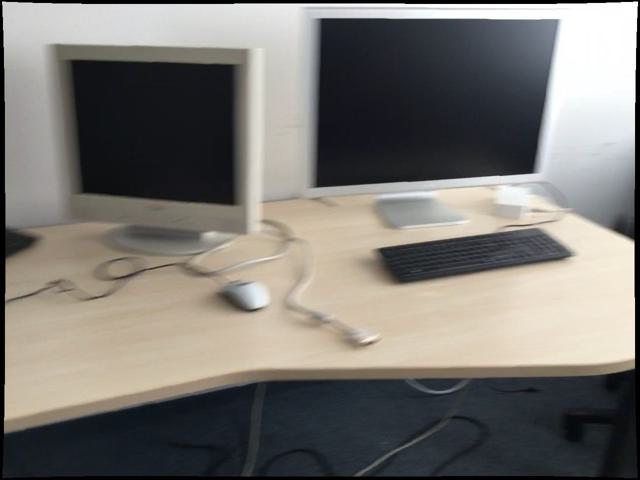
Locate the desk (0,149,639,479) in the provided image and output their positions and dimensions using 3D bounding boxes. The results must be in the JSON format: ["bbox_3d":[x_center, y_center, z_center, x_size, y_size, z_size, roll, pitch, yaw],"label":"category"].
[{"bbox_3d":[-0.160,0.370,1.380,2.068,0.741,1.040,-9,26,-19],"label":"desk"}]

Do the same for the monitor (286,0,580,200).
[{"bbox_3d":[0.270,-0.370,1.500,0.689,0.460,0.170,-4,25,-11],"label":"monitor"}]

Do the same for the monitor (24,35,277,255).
[{"bbox_3d":[-0.370,-0.230,1.360,0.490,0.450,0.190,5,25,10],"label":"monitor"}]

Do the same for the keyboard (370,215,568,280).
[{"bbox_3d":[0.350,0.010,1.350,0.440,0.030,0.150,-9,26,-19],"label":"keyboard"}]
